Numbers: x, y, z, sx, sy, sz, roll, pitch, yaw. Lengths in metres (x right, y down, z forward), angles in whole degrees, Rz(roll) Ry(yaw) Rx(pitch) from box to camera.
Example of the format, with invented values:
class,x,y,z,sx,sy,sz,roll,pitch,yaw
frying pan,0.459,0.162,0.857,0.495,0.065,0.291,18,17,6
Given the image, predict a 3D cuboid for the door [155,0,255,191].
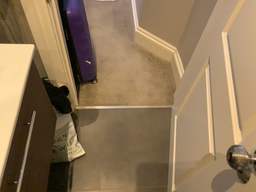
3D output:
class,x,y,z,sx,sy,sz,roll,pitch,yaw
door,0.360,-0.170,0.630,0.080,2.140,0.840,13,56,3
